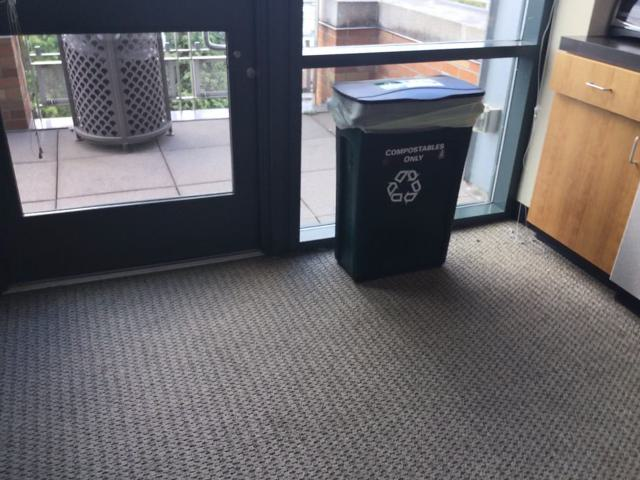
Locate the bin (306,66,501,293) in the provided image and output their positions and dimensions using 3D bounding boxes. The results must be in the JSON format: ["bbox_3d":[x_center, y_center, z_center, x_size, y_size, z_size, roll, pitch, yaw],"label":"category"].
[{"bbox_3d":[0.290,-0.250,2.310,0.610,0.790,0.350,-6,28,-15],"label":"bin"}]

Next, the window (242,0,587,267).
[{"bbox_3d":[0.380,-1.130,2.190,1.310,2.470,0.370,-6,28,-15],"label":"window"}]

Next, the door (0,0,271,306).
[{"bbox_3d":[-0.720,-0.640,1.960,1.050,1.720,0.310,-6,28,-15],"label":"door"}]
